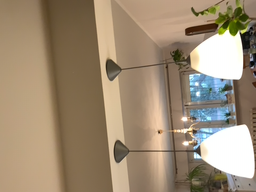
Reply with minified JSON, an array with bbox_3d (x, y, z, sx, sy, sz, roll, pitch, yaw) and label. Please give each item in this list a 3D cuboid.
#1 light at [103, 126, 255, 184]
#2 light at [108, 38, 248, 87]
[{"bbox_3d":[0.230,0.260,1.020,0.670,0.190,0.210,-3,86,17],"label":"light"},{"bbox_3d":[0.220,-0.150,1.030,0.610,0.150,0.190,2,87,17],"label":"light"}]
